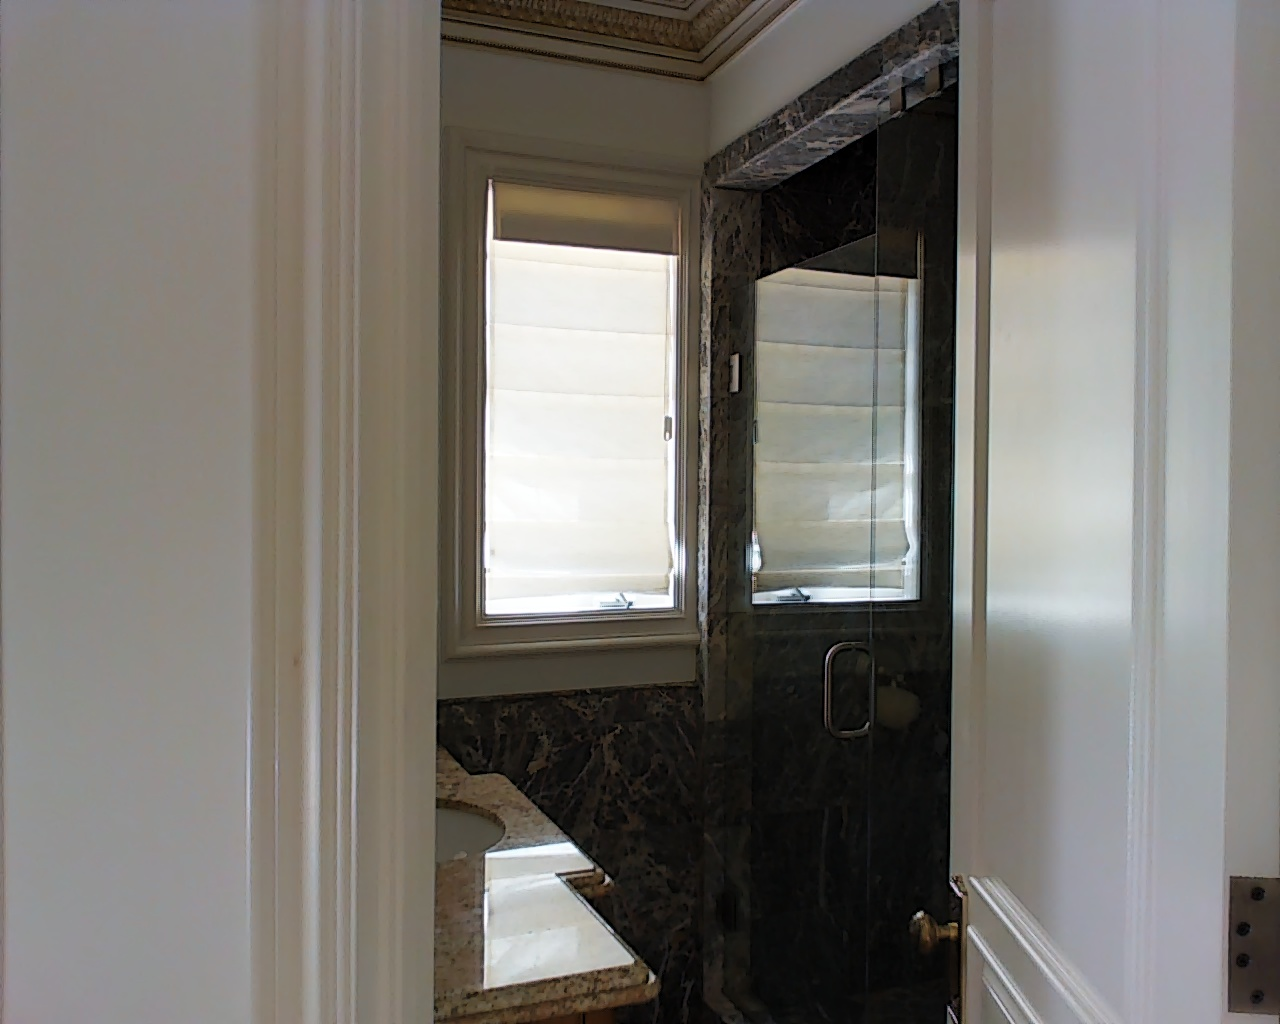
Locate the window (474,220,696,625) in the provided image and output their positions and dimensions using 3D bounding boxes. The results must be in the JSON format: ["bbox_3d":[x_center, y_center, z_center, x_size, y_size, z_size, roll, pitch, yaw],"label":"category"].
[{"bbox_3d":[-0.150,-0.240,3.060,0.630,1.090,0.100,0,1,-24],"label":"window"}]
